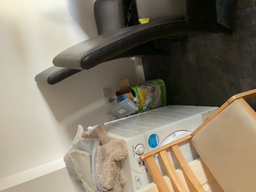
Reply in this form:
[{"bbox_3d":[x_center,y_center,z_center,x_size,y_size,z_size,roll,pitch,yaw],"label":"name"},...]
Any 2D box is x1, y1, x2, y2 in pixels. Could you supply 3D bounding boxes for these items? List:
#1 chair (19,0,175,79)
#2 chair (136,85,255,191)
[{"bbox_3d":[-0.210,-0.560,1.720,0.470,1.080,0.690,3,103,56],"label":"chair"},{"bbox_3d":[0.560,0.300,1.110,0.460,0.800,0.490,59,142,27],"label":"chair"}]
